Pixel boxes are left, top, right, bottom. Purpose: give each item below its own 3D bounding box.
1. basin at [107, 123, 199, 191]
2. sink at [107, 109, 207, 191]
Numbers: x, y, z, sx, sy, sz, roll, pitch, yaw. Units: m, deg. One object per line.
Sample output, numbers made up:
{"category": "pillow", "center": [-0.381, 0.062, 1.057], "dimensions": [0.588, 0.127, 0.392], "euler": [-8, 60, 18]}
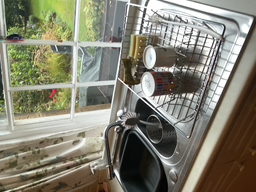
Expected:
{"category": "basin", "center": [0.090, 0.390, 1.070], "dimensions": [0.430, 0.190, 0.280], "euler": [48, 133, 45]}
{"category": "sink", "center": [0.090, 0.380, 1.090], "dimensions": [0.520, 0.140, 0.400], "euler": [46, 132, 46]}
